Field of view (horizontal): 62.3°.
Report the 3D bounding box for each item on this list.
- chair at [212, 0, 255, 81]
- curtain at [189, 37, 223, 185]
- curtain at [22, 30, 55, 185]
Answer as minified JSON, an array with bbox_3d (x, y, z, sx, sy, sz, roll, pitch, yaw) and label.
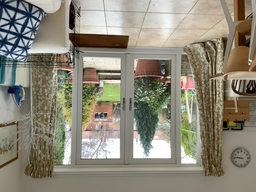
[{"bbox_3d":[0.940,-0.530,1.530,0.480,0.790,0.440,1,178,-4],"label":"chair"},{"bbox_3d":[1.250,0.230,3.440,0.400,2.260,0.350,1,178,-3],"label":"curtain"},{"bbox_3d":[-1.370,0.170,3.280,0.330,2.270,0.330,1,178,-3],"label":"curtain"}]
